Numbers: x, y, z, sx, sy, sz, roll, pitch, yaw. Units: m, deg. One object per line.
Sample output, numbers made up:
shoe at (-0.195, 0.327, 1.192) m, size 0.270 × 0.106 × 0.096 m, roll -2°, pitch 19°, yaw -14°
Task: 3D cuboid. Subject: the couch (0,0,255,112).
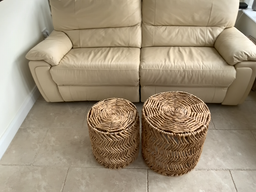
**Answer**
couch at (0.130, -0.560, 2.190) m, size 2.070 × 0.970 × 0.990 m, roll 1°, pitch 39°, yaw 5°
